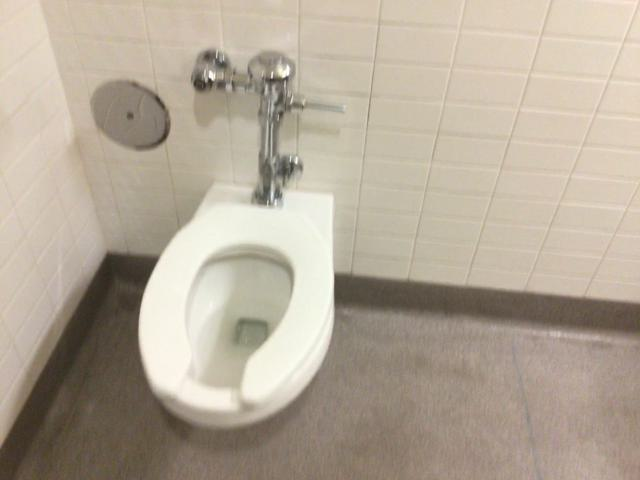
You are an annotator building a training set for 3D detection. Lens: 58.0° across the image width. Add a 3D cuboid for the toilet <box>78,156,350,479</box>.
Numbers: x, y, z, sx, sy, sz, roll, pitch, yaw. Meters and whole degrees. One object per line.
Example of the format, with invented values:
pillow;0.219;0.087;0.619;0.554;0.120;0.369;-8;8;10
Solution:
toilet;-0.160;0.120;1.180;0.390;0.290;0.610;8;34;-1
